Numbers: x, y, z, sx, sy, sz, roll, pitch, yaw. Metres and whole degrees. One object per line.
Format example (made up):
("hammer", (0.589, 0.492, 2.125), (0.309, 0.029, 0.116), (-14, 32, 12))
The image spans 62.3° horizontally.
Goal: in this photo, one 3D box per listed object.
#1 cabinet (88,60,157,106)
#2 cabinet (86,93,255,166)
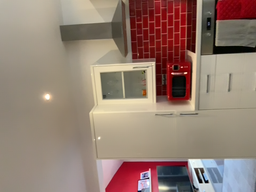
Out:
("cabinet", (-0.050, -0.180, 2.790), (0.390, 0.820, 0.500), (-76, -16, -73))
("cabinet", (0.610, 0.410, 2.760), (0.680, 2.100, 0.690), (-76, -16, -73))
